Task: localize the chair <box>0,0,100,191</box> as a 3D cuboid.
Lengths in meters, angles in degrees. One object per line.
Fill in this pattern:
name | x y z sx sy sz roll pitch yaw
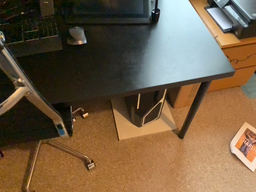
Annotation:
chair | -0.550 0.000 0.950 0.640 1.180 0.720 -10 56 -9
